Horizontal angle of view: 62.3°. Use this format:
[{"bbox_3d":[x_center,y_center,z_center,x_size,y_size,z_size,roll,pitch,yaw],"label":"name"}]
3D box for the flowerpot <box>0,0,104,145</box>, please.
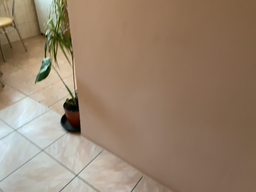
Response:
[{"bbox_3d":[-0.500,-0.210,1.590,0.400,1.020,0.450,27,42,31],"label":"flowerpot"}]
